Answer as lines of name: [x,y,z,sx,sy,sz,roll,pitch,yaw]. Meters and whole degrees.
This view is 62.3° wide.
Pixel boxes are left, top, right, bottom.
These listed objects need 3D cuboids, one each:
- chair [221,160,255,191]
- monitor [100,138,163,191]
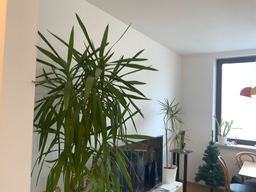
chair: [1.550,1.350,2.940,0.410,0.770,0.410,1,-2,34]
monitor: [0.100,0.920,2.480,0.060,0.710,1.230,4,-1,34]
